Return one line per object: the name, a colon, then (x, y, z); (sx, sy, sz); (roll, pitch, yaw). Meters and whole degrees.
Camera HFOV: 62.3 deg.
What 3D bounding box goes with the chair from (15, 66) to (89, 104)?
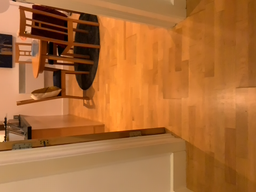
chair: (-1.150, -0.160, 3.220); (0.410, 0.990, 0.500); (9, 98, 60)
